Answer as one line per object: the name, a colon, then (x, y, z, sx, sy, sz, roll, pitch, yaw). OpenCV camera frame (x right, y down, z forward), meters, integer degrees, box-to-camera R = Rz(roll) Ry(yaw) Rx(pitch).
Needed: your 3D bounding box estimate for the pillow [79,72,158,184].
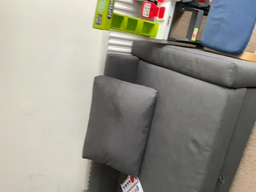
pillow: (-0.090, 0.210, 1.510, 0.180, 0.470, 0.670, -30, -50, -62)

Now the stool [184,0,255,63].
stool: (0.600, -0.410, 1.190, 0.300, 0.370, 0.370, -1, -69, -32)
